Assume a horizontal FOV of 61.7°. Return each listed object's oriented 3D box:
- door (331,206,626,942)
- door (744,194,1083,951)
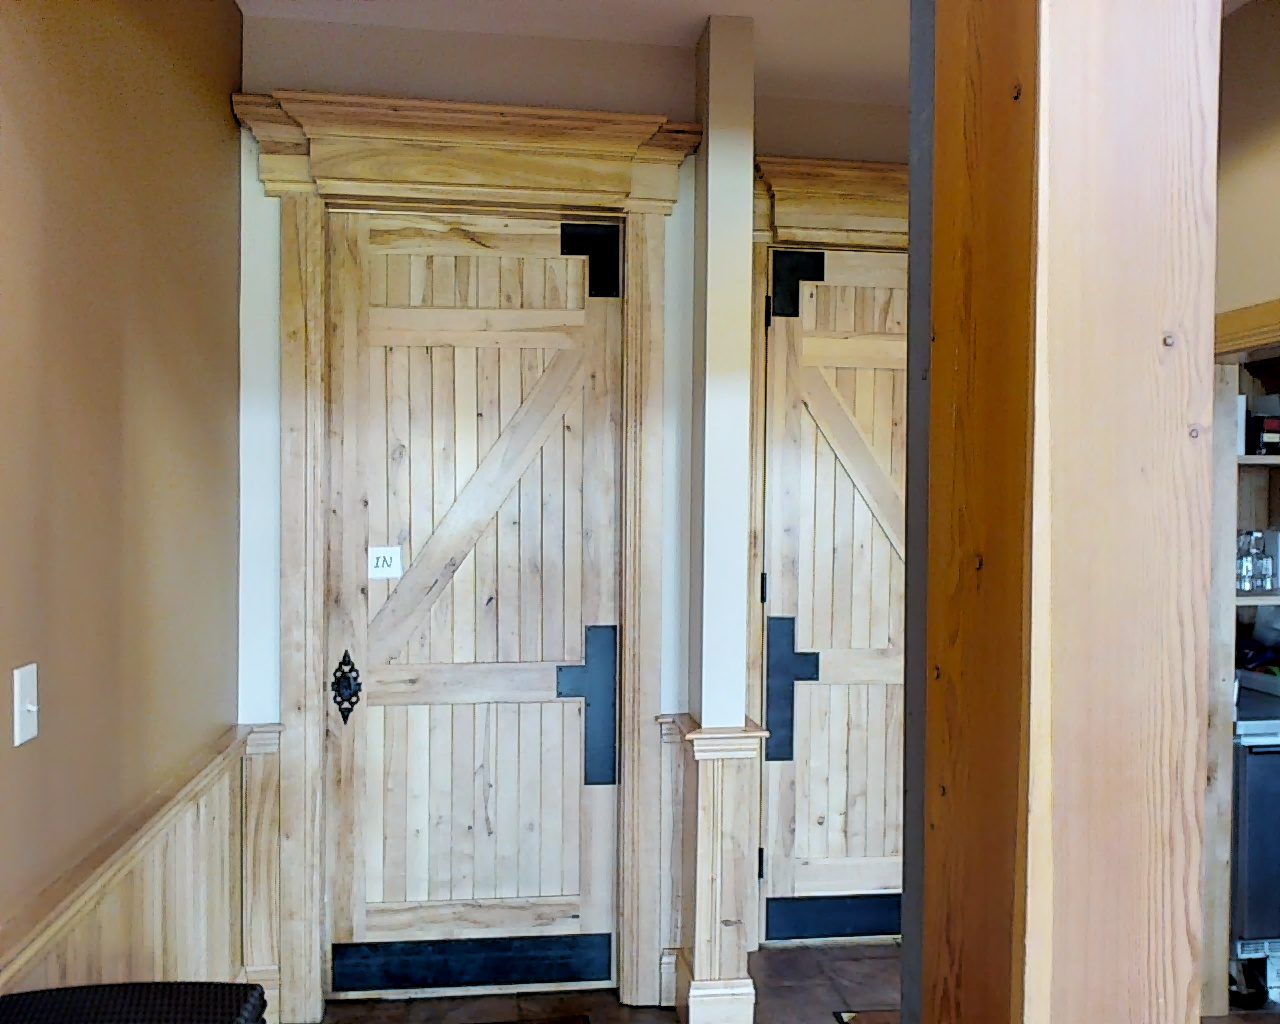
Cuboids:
[{"bbox_3d":[-0.500,0.200,3.350,0.880,2.250,0.050,1,1,-7],"label":"door"},{"bbox_3d":[0.970,0.220,3.790,1.170,2.590,0.100,1,1,-8],"label":"door"}]
